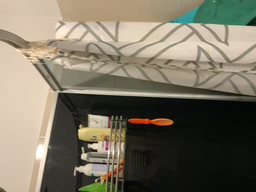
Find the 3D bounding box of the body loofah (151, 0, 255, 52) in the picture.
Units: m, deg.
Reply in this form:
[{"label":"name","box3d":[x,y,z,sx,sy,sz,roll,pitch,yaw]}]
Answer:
[{"label":"body loofah","box3d":[0.380,-0.390,1.070,0.600,0.450,0.290,-84,-4,-80]}]
